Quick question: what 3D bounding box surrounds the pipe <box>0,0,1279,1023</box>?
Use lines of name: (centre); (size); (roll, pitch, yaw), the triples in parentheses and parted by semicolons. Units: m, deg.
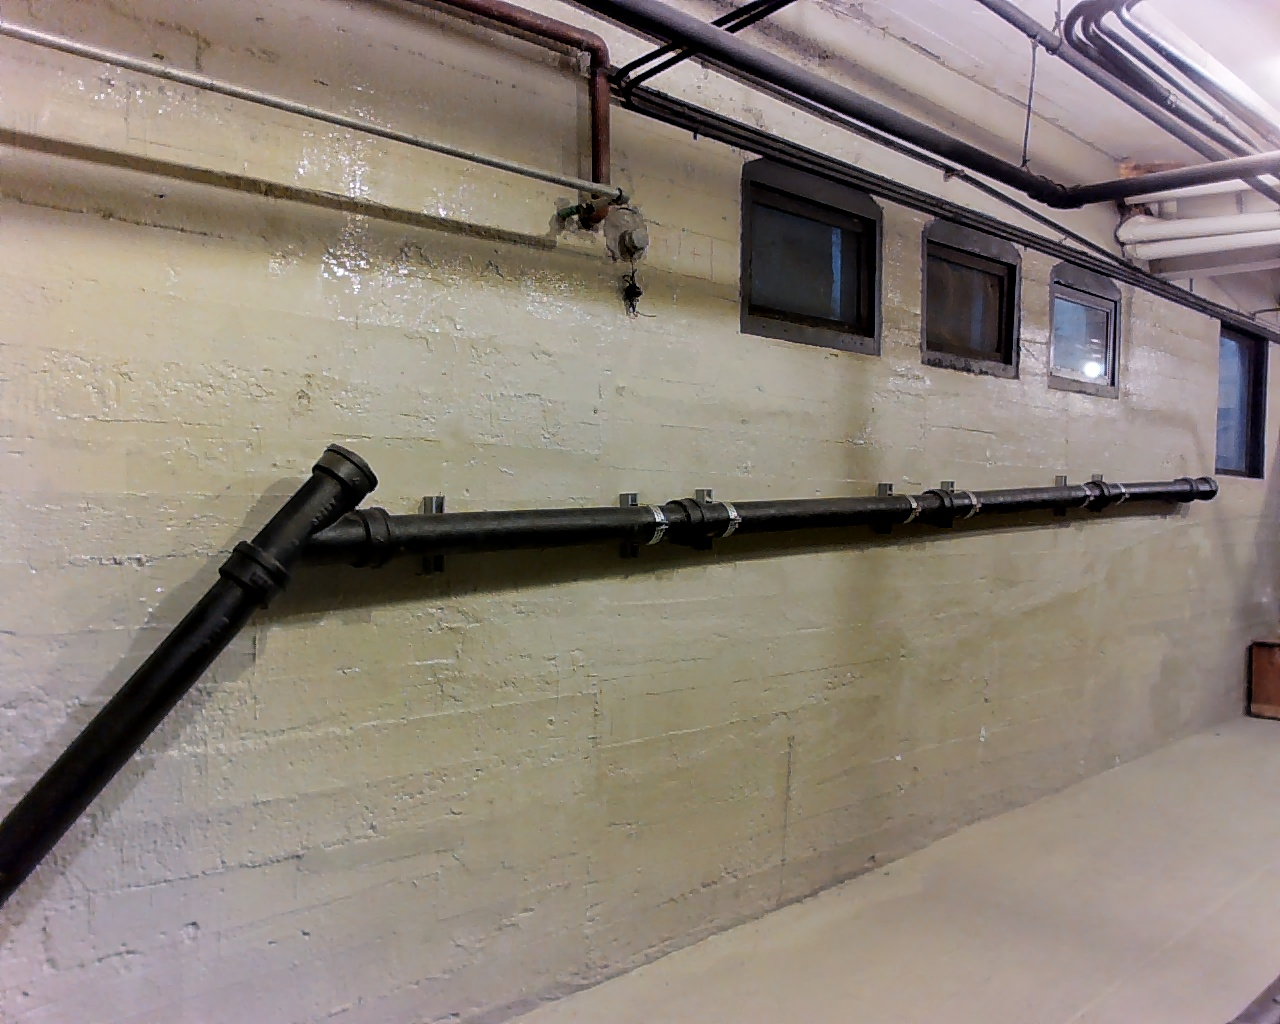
pipe: (1.570, -0.610, 2.600); (7.369, 2.490, 3.250); (0, 1, -44)
